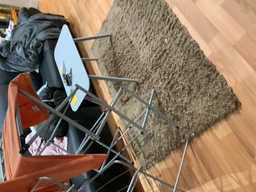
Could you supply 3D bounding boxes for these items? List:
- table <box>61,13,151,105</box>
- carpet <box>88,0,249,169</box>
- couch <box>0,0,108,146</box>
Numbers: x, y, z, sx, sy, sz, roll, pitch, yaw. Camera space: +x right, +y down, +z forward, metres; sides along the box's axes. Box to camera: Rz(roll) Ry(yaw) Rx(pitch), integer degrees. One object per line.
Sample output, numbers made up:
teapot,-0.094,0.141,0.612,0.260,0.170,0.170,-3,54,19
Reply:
table,-0.230,-0.320,1.920,0.450,0.470,0.640,-55,52,37
carpet,0.100,-0.290,1.830,1.030,0.060,1.490,-52,53,38
couch,-1.090,-0.320,2.640,0.940,0.900,1.440,-53,53,38
